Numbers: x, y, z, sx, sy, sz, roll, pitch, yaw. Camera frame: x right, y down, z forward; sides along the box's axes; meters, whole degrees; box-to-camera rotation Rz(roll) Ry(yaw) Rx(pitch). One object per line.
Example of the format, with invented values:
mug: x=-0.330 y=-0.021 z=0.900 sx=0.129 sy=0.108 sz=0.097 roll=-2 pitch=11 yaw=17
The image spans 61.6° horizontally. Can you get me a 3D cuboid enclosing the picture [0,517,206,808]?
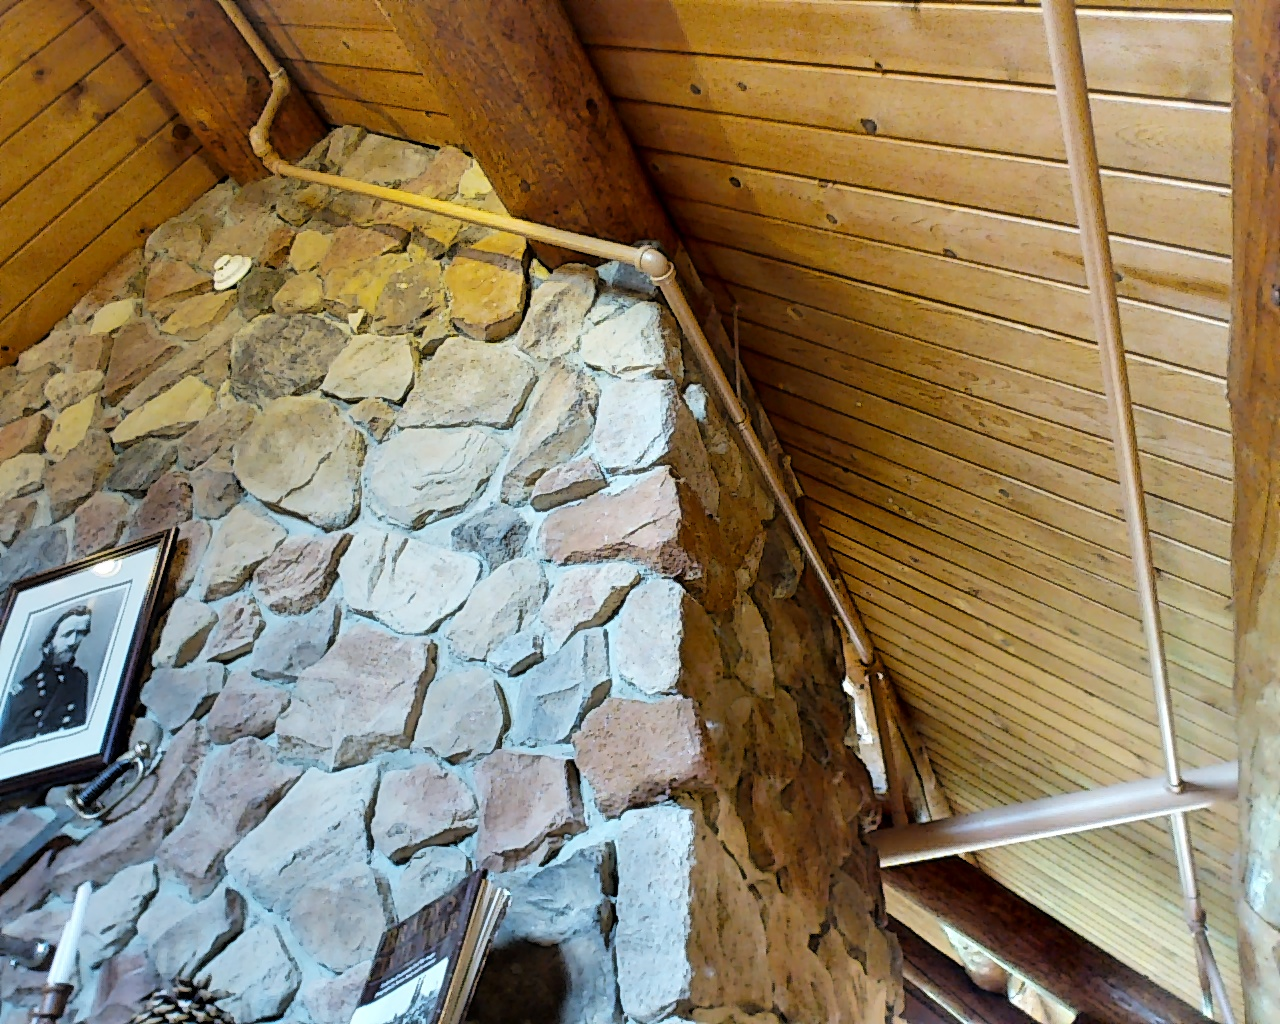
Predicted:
picture: x=-1.209 y=0.320 z=2.270 sx=0.490 sy=0.600 sz=0.060 roll=-16 pitch=-44 yaw=17

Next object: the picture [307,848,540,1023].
picture: x=-0.290 y=0.600 z=1.340 sx=0.090 sy=0.320 sz=0.280 roll=38 pitch=-39 yaw=-28
